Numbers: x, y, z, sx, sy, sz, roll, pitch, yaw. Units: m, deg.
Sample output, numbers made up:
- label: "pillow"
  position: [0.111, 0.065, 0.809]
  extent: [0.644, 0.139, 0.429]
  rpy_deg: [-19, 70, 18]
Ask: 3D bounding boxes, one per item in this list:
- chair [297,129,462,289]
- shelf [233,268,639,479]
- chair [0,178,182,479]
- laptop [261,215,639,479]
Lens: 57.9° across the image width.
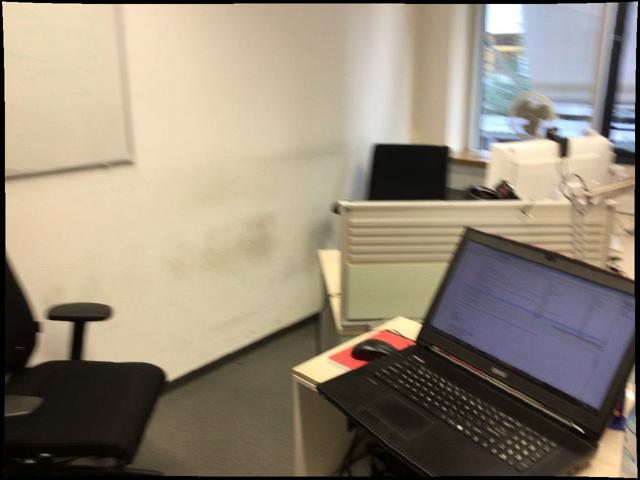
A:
- label: "chair"
  position: [0.350, -0.220, 3.180]
  extent: [0.669, 0.651, 0.770]
  rpy_deg: [7, 19, 22]
- label: "shelf"
  position: [0.370, 0.661, 1.220]
  extent: [0.949, 0.901, 0.550]
  rpy_deg: [13, 22, 36]
- label: "chair"
  position: [-0.789, 0.380, 1.740]
  extent: [0.619, 1.001, 0.620]
  rpy_deg: [-3, 18, -9]
- label: "laptop"
  position: [0.270, 0.200, 1.080]
  extent: [0.530, 0.300, 0.550]
  rpy_deg: [-14, 23, -37]
